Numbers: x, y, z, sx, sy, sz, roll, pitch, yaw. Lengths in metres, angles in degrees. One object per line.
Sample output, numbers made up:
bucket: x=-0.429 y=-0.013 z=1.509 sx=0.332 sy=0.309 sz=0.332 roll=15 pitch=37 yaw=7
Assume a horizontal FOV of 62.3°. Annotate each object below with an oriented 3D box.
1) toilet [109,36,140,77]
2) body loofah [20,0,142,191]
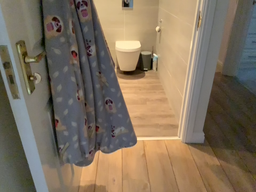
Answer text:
toilet: x=-0.070 y=-0.590 z=3.100 sx=0.400 sy=0.440 sz=0.520 roll=-2 pitch=28 yaw=-4
body loofah: x=-0.130 y=-0.280 z=0.890 sx=0.350 sy=1.440 sz=0.510 roll=1 pitch=28 yaw=1
